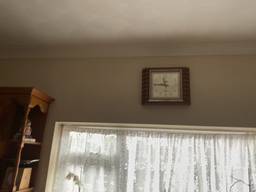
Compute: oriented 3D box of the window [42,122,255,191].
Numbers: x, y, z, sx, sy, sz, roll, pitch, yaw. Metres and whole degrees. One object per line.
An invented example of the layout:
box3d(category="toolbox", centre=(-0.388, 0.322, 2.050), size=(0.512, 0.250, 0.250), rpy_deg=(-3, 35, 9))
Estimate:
box3d(category="window", centre=(0.300, 0.700, 1.740), size=(2.030, 0.900, 0.070), rpy_deg=(1, -16, 6))
